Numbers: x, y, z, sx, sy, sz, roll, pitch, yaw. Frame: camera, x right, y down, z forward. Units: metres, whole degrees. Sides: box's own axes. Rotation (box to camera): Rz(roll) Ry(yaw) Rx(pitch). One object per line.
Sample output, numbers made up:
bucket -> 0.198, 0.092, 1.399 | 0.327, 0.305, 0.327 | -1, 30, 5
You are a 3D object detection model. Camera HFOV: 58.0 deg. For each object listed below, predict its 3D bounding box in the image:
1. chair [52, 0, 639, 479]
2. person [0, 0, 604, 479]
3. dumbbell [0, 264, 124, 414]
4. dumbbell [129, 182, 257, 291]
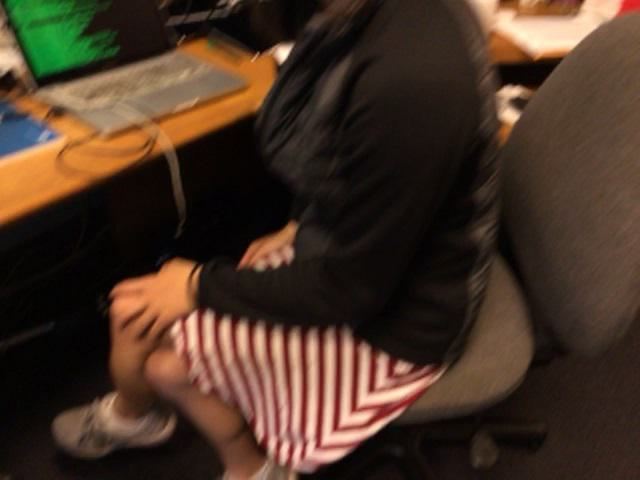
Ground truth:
chair -> 0.120, 0.100, 0.980 | 0.750, 0.980, 0.500 | -5, 38, -8
person -> -0.190, 0.020, 0.870 | 0.850, 1.220, 0.360 | 9, 38, 10
dumbbell -> -0.700, 0.240, 1.420 | 0.160, 0.150, 0.370 | 27, 44, 30
dumbbell -> -0.380, -0.020, 1.780 | 0.190, 0.140, 0.330 | 27, 44, 30
